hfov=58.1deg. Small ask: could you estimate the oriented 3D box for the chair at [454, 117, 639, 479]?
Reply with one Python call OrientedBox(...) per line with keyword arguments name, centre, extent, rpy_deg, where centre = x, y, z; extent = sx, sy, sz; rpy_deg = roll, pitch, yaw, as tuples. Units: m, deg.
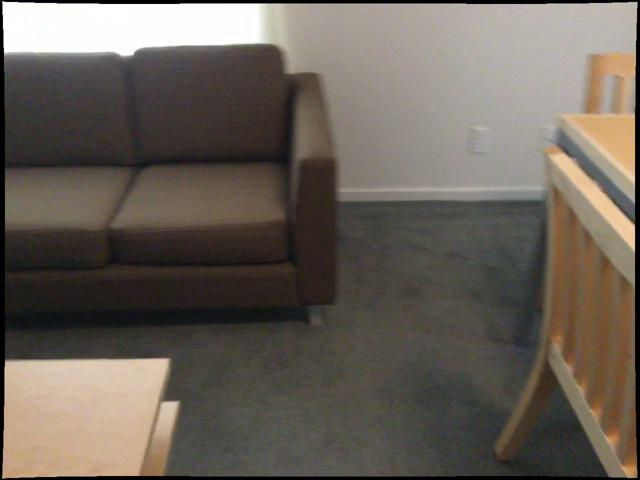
OrientedBox(name="chair", centre=(0.718, 0.321, 1.130), extent=(0.608, 0.932, 0.630), rpy_deg=(2, 28, -4))
